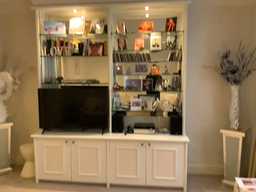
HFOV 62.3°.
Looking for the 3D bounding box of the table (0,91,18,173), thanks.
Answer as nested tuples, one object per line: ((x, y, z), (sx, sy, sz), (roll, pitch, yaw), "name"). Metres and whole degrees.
((-1.960, 0.530, 3.210), (0.330, 1.180, 0.360), (5, 9, 43), "table")
